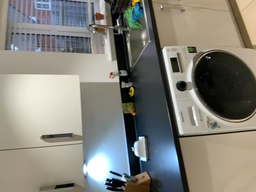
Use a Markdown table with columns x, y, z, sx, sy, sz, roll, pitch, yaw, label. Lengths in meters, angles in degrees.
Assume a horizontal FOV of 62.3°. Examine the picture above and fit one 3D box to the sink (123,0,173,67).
| x | y | z | sx | sy | sz | roll | pitch | yaw | label |
| --- | --- | --- | --- | --- | --- | --- | --- | --- | --- |
| 0.140 | -0.580 | 1.880 | 0.560 | 0.190 | 0.410 | 127 | 138 | -63 | sink |
